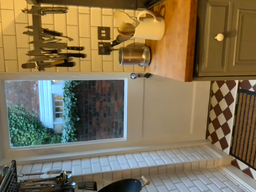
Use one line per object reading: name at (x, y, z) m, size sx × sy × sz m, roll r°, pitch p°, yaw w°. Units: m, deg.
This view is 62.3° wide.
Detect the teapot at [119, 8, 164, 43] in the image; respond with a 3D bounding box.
teapot at (0.070, -0.400, 1.230) m, size 0.150 × 0.220 × 0.170 m, roll -143°, pitch 53°, yaw -70°
